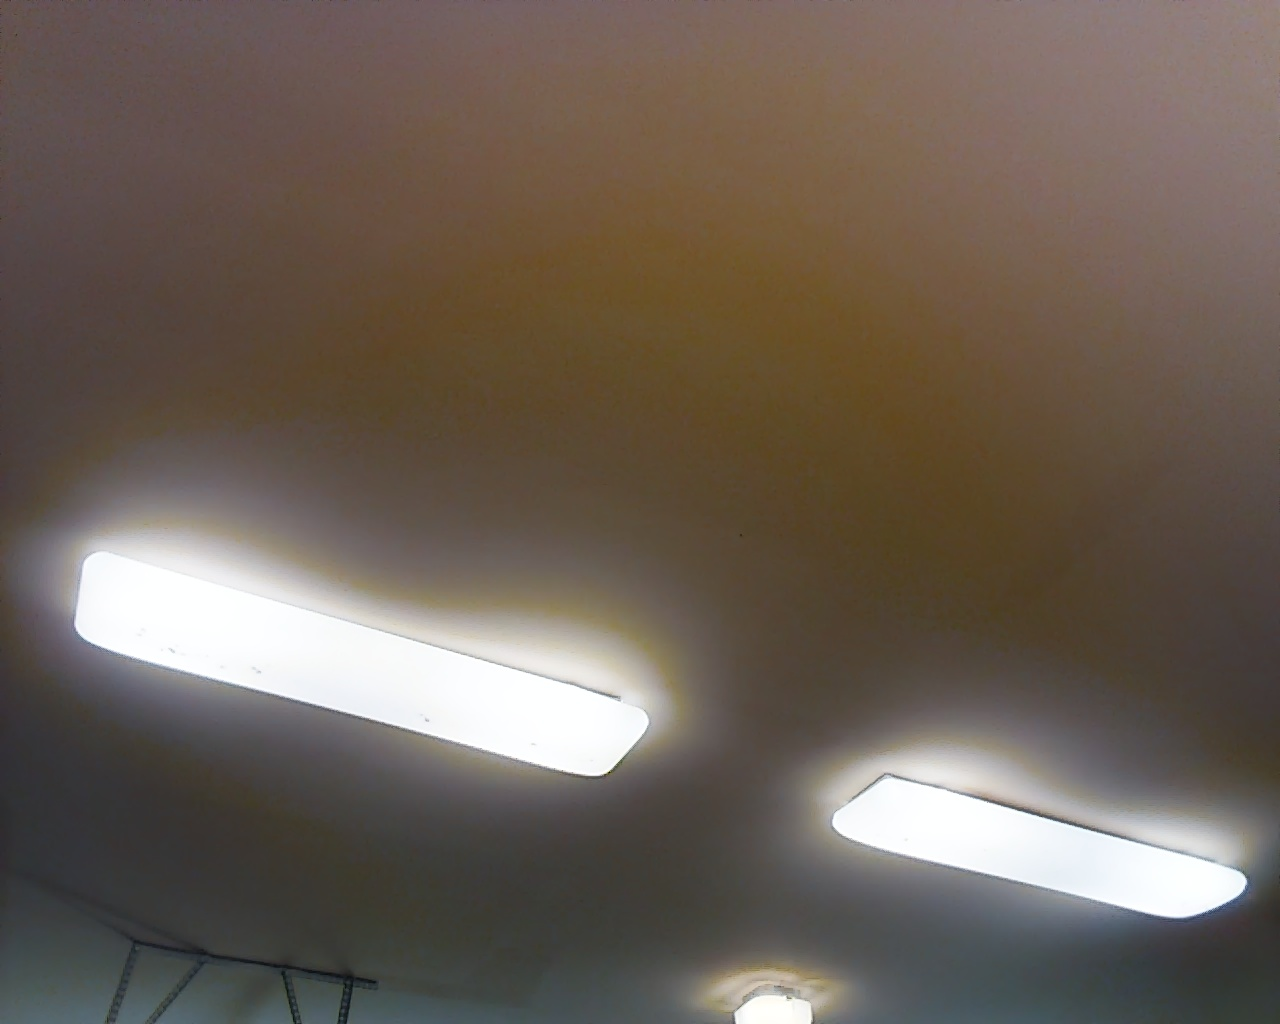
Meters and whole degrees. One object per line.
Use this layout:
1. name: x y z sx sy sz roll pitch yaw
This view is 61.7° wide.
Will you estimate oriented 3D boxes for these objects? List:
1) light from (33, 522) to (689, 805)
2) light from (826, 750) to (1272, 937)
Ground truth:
1. light: -0.600 0.390 2.490 1.440 0.140 0.320 19 -46 -18
2. light: 1.190 0.980 3.090 1.310 0.140 0.330 19 -46 -18
